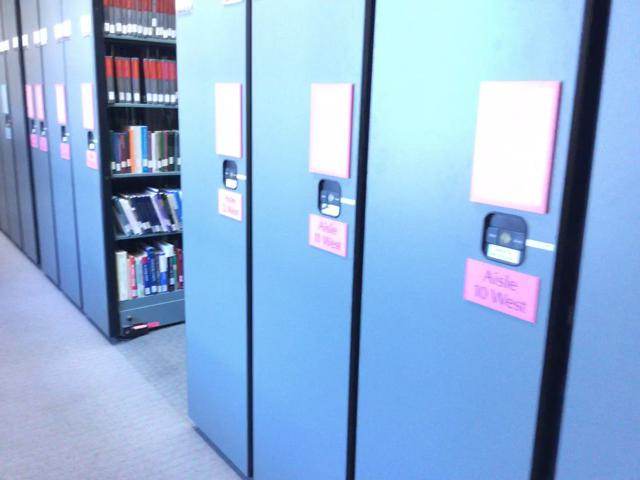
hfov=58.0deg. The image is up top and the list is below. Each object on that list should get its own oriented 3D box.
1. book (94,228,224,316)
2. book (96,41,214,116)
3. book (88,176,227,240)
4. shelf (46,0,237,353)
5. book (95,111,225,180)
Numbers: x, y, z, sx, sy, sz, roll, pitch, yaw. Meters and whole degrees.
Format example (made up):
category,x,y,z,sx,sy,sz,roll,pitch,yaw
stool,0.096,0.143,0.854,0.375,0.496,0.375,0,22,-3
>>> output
category,x,y,z,sx,sy,sz,roll,pitch,yaw
book,-0.990,0.170,3.560,0.630,0.400,0.480,-5,11,-36
book,-0.890,-0.870,3.170,0.610,0.330,0.130,-5,11,-36
book,-0.970,-0.210,3.460,0.680,0.320,0.450,-5,11,-36
shelf,-1.110,-0.410,3.580,0.800,1.860,0.990,-5,11,-36
book,-0.920,-0.540,3.350,0.640,0.360,0.340,-5,11,-36
